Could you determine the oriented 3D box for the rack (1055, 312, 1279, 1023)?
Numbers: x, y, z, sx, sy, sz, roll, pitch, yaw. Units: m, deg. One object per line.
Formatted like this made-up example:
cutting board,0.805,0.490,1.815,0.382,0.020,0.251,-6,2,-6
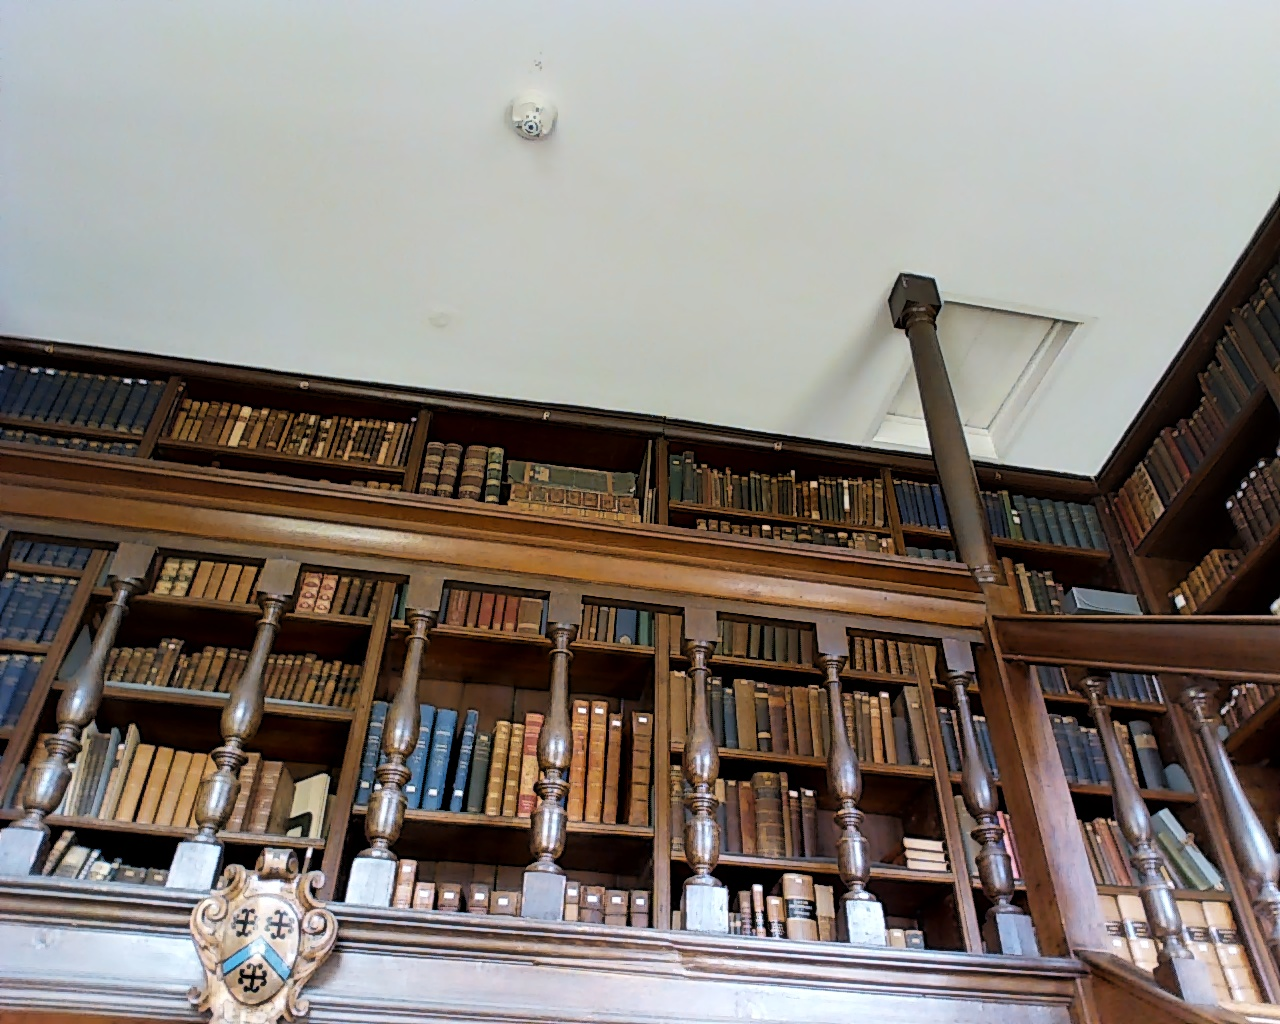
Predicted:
rack,1.740,0.460,2.980,0.320,2.180,0.780,7,-42,-6
